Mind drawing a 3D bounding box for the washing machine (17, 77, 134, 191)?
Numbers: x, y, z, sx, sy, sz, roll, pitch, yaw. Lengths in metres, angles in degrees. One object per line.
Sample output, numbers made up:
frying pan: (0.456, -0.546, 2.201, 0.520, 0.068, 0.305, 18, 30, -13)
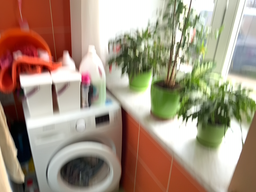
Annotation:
washing machine: (-0.420, 0.400, 1.680, 0.630, 0.840, 0.650, -13, 31, -28)
